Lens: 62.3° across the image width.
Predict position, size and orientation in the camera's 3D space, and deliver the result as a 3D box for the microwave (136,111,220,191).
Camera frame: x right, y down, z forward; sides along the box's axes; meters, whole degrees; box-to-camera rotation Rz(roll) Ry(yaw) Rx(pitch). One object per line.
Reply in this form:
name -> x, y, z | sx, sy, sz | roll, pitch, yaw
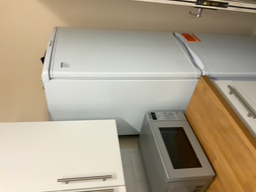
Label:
microwave -> 0.240, 0.350, 1.210 | 0.430, 0.260, 0.320 | -105, 19, -51
